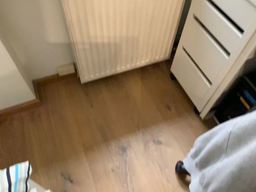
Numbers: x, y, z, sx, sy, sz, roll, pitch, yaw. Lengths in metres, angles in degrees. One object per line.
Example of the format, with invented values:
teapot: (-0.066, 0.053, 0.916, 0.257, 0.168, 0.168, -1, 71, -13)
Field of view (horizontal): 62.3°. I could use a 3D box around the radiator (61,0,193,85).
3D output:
radiator: (0.000, -0.350, 1.160, 0.620, 0.590, 0.120, -14, 59, -12)
